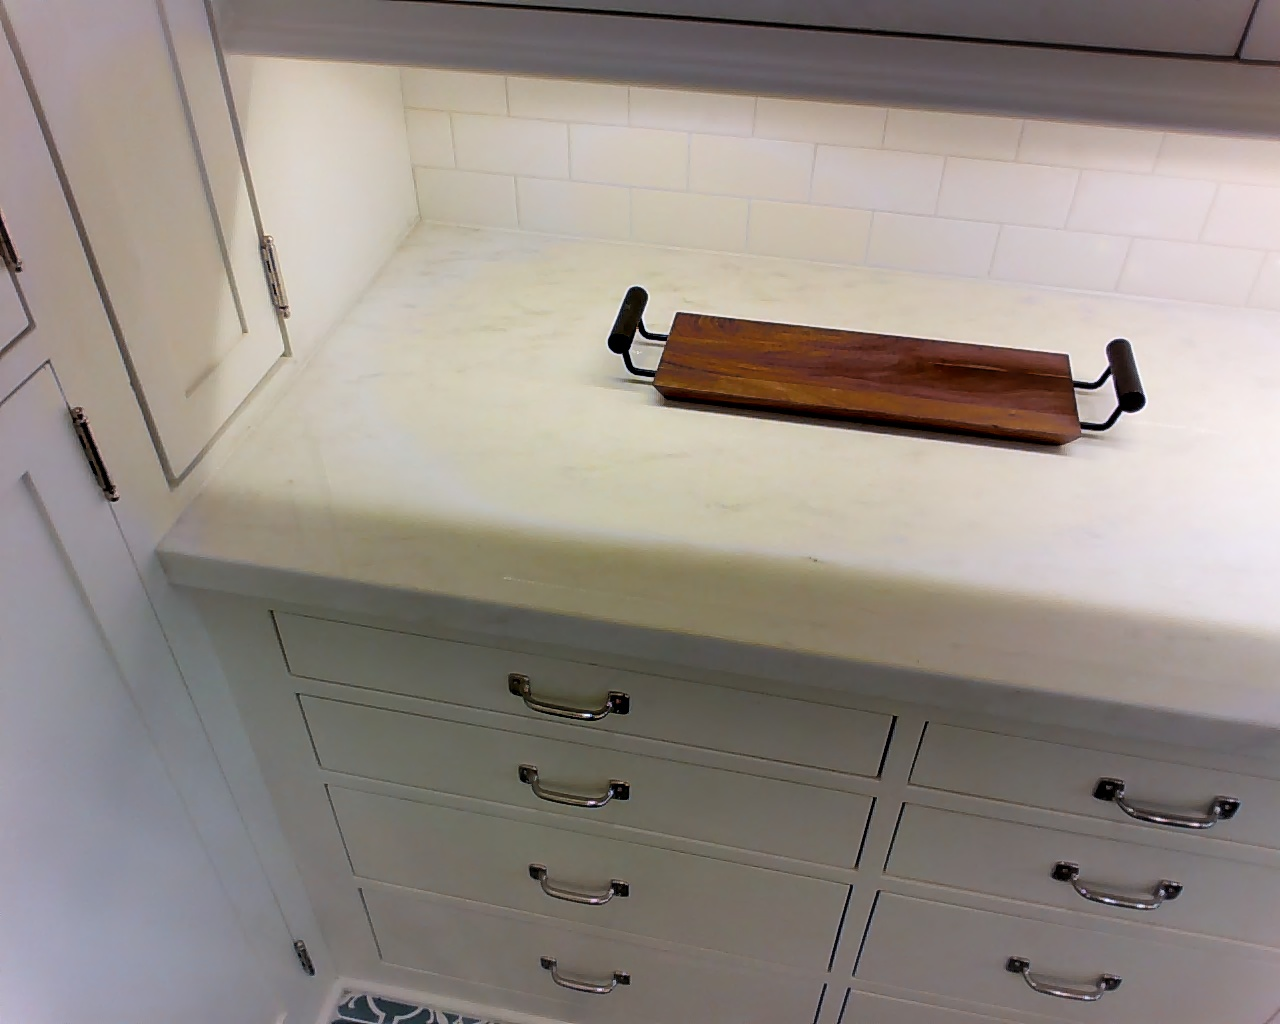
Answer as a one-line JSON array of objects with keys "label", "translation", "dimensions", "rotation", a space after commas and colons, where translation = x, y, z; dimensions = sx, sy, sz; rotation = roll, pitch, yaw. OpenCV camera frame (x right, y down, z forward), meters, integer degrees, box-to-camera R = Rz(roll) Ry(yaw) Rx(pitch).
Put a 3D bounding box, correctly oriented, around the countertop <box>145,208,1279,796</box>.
[{"label": "countertop", "translation": [1.280, 0.070, 1.000], "dimensions": [3.370, 0.090, 0.680], "rotation": [8, 42, 8]}]
